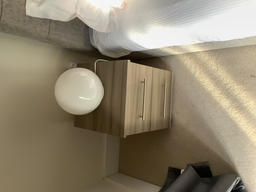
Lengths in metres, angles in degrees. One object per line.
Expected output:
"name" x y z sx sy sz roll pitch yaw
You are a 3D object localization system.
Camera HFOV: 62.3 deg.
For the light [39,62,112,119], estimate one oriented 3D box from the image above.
"light" -0.270 -0.030 1.100 0.270 0.240 0.250 5 92 39
